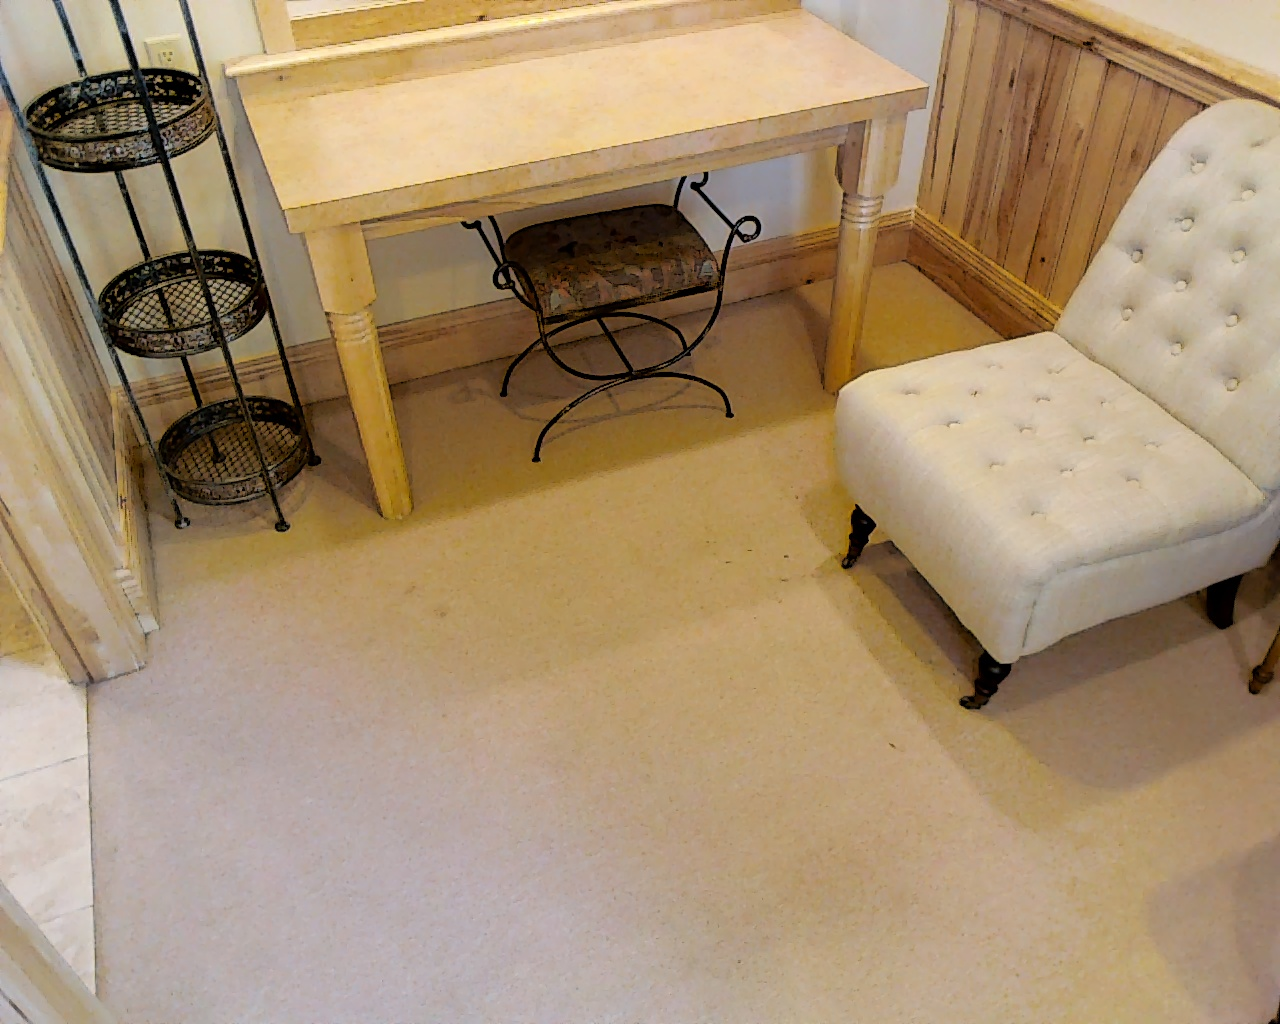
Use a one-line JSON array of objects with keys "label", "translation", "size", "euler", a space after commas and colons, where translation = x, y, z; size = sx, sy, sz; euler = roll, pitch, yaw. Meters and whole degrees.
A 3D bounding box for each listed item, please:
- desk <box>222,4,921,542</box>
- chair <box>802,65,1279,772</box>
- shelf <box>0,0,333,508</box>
[{"label": "desk", "translation": [-0.150, -0.620, 2.620], "size": [1.390, 0.810, 0.640], "euler": [-17, 44, -17]}, {"label": "chair", "translation": [0.940, -0.200, 2.070], "size": [0.950, 0.930, 0.690], "euler": [-16, 44, -16]}, {"label": "shelf", "translation": [-1.000, -0.870, 1.980], "size": [0.420, 1.760, 0.490], "euler": [-16, 44, -16]}]
